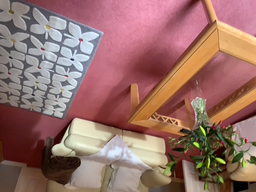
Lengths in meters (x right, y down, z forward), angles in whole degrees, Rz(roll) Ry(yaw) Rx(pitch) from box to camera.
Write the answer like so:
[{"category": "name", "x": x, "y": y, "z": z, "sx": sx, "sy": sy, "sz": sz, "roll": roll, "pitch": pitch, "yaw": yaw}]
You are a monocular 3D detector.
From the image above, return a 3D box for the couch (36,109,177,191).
[{"category": "couch", "x": -0.320, "y": 1.030, "z": 3.010, "sx": 1.610, "sy": 0.950, "sz": 1.050, "roll": 16, "pitch": 142, "yaw": -20}]
